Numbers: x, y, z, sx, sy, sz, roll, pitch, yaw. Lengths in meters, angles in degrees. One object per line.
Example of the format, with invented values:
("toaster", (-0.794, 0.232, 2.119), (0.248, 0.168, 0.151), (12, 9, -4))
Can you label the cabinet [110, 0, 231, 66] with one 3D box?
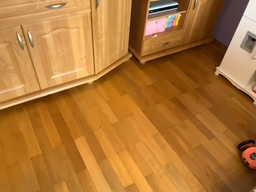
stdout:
("cabinet", (0.420, -0.870, 2.220), (1.040, 0.630, 0.610), (-20, 51, -24))
